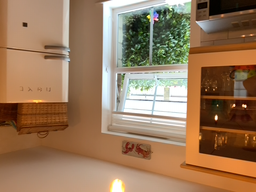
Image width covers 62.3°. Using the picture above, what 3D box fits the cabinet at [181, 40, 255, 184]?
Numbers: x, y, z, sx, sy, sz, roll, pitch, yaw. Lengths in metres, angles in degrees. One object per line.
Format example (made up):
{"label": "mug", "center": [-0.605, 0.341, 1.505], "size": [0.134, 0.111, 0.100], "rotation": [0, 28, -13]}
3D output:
{"label": "cabinet", "center": [0.880, 0.090, 1.240], "size": [1.030, 0.790, 0.320], "rotation": [2, -178, 33]}
